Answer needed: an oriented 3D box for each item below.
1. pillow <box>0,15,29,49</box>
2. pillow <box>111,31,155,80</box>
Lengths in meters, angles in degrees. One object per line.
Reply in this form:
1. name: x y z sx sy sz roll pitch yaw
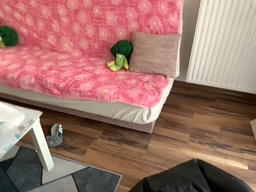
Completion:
1. pillow: -1.170 -0.600 1.960 0.320 0.190 0.280 11 38 13
2. pillow: 0.040 -0.320 1.660 0.270 0.270 0.230 11 38 13
